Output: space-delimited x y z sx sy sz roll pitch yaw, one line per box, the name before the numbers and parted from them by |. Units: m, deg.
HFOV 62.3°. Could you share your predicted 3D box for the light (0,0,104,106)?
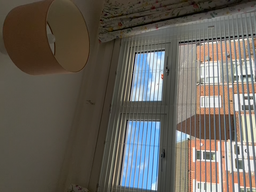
light | -0.450 -0.280 1.140 0.500 0.500 0.400 6 -25 5
